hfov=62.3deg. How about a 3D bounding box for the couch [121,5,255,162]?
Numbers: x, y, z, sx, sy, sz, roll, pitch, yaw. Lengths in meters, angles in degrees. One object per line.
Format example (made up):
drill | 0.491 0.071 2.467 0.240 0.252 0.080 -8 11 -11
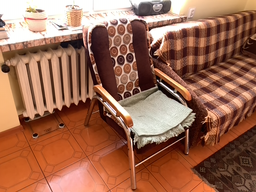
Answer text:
couch | 1.080 -0.360 2.380 2.060 0.840 1.000 -22 46 -34
